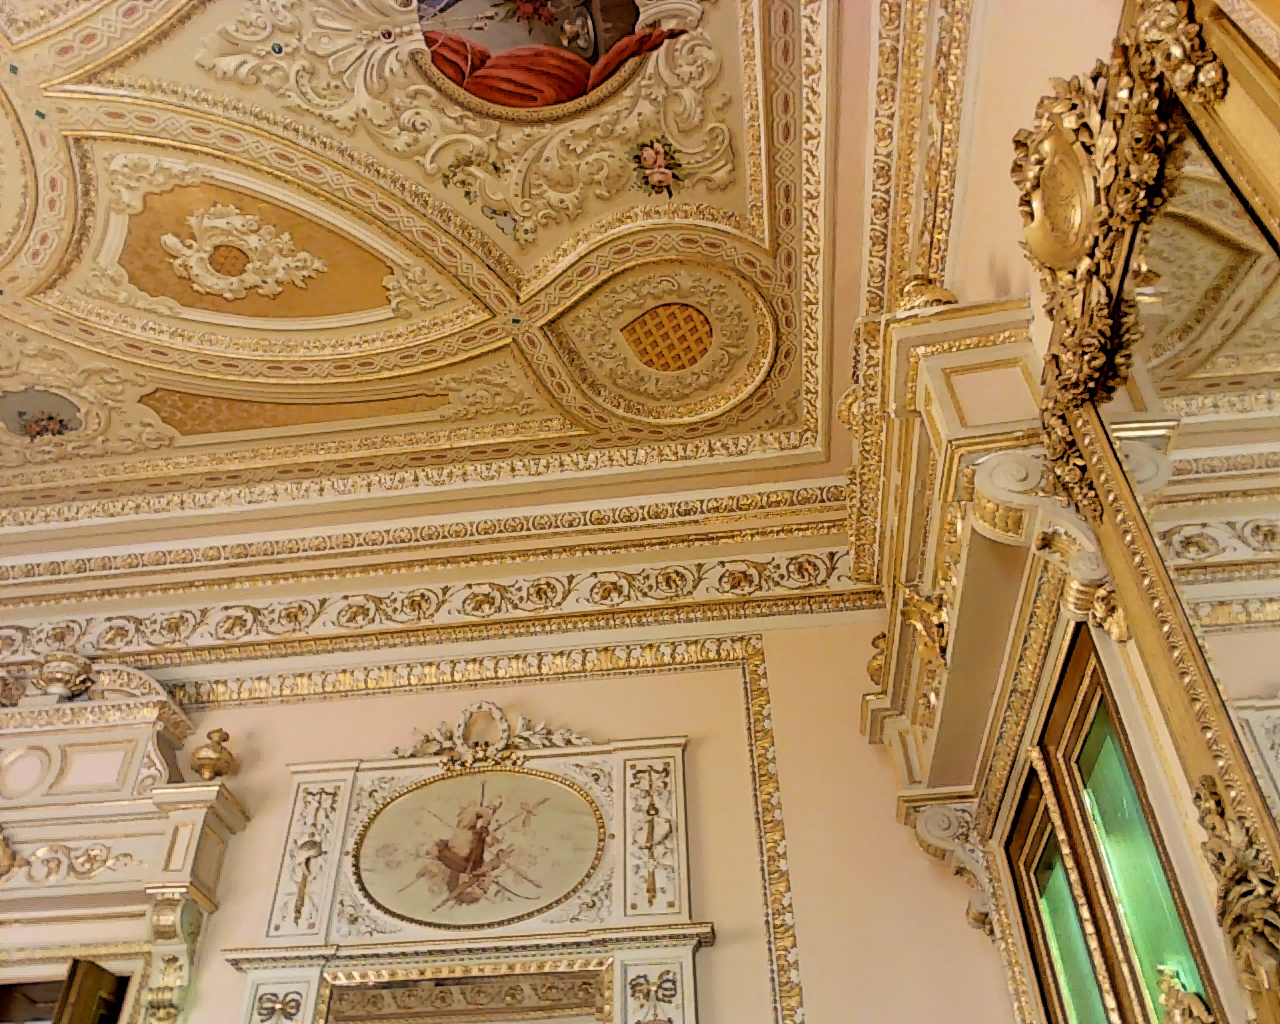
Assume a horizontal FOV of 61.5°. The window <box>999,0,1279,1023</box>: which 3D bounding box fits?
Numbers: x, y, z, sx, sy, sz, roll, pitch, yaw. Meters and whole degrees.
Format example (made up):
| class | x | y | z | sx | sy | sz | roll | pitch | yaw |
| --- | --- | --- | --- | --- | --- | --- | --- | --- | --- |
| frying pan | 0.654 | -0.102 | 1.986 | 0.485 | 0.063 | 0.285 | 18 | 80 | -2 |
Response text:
| class | x | y | z | sx | sy | sz | roll | pitch | yaw |
| --- | --- | --- | --- | --- | --- | --- | --- | --- | --- |
| window | 0.969 | 0.250 | 1.430 | 0.170 | 3.001 | 1.280 | -5 | -42 | 6 |
